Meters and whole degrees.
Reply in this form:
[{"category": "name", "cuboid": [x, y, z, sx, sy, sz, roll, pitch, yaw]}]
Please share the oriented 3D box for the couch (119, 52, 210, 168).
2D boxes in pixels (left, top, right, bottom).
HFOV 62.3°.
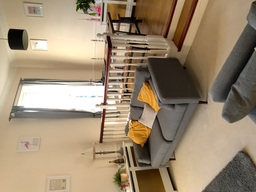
[{"category": "couch", "cuboid": [0.440, 0.310, 3.580, 0.940, 0.820, 1.810, -103, 18, -44]}]
